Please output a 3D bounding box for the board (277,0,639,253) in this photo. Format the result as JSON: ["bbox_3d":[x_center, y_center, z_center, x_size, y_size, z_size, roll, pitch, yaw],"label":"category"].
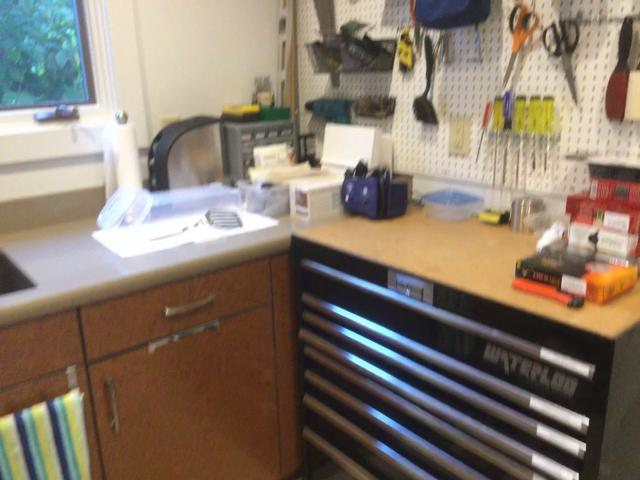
[{"bbox_3d":[0.370,-0.730,1.580,0.090,1.330,1.510,-15,21,-39],"label":"board"}]

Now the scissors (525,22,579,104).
[{"bbox_3d":[0.580,-0.440,1.450,0.050,0.190,0.100,-15,21,-39],"label":"scissors"}]
